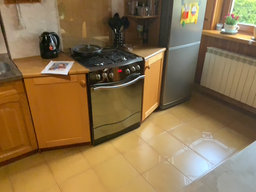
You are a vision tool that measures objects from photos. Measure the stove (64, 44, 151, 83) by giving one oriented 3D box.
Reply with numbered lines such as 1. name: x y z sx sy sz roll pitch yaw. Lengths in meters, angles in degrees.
1. stove: -0.220 -0.360 2.150 0.650 0.120 0.620 -16 32 -30
